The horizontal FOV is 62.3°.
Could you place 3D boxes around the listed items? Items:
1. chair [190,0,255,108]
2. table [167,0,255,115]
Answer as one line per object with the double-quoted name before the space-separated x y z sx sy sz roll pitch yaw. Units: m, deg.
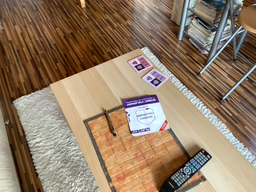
"chair" 0.760 -0.330 1.390 0.420 0.740 0.330 -23 56 -16
"table" 0.850 -0.520 1.490 0.420 0.790 1.190 -24 56 -17
